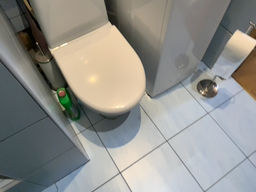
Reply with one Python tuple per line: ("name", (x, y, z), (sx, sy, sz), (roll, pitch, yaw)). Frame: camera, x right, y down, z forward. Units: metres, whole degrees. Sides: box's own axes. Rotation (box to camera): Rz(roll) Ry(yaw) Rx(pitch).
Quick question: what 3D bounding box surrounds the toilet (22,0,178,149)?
("toilet", (-0.170, -0.190, 1.100), (0.370, 0.770, 0.650), (-28, 67, -14))
